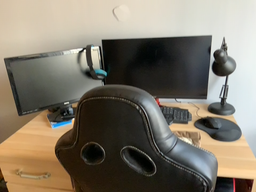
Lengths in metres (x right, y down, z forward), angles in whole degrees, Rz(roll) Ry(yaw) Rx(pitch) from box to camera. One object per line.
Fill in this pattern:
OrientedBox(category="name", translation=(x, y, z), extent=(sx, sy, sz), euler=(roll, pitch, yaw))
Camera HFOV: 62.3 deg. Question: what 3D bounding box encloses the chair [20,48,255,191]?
OrientedBox(category="chair", translation=(0.150, 0.420, 1.010), extent=(0.690, 1.170, 0.660), euler=(5, 23, 20))
